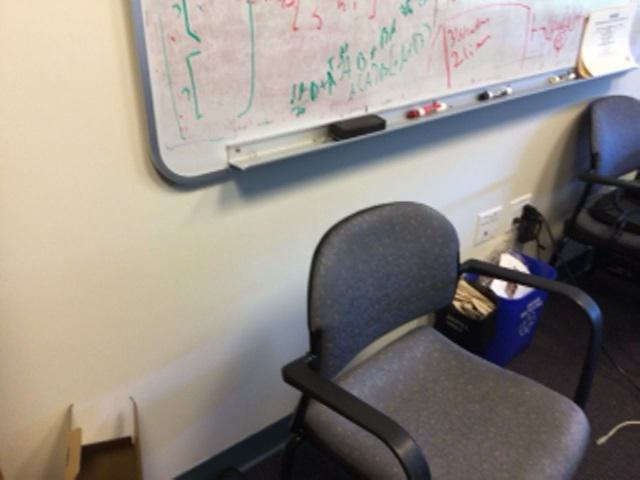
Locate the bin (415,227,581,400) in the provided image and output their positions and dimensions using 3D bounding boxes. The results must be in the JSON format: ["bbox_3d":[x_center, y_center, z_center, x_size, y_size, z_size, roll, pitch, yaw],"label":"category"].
[{"bbox_3d":[0.570,0.220,1.880,0.460,0.330,0.260,-21,33,-29],"label":"bin"}]

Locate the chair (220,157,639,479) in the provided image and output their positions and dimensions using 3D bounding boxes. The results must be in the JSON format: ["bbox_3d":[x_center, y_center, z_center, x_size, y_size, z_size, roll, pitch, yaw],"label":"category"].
[{"bbox_3d":[0.230,0.330,1.140,0.560,0.750,0.540,-21,33,-29],"label":"chair"}]

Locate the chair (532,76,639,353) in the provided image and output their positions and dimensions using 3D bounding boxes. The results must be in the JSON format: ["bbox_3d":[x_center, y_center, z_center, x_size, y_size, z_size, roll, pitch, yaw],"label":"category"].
[{"bbox_3d":[1.120,-0.070,1.800,0.490,0.710,0.620,-21,33,-29],"label":"chair"}]
